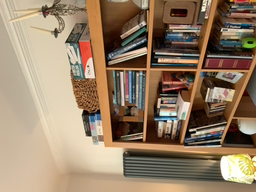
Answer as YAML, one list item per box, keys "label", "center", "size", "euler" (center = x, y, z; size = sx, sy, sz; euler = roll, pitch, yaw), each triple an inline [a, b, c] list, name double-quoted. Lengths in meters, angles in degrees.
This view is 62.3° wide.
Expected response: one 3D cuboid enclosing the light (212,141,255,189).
- label: "light"
  center: [1.190, 0.700, 2.140]
  size: [0.330, 0.520, 0.310]
  euler: [-85, -4, -50]
